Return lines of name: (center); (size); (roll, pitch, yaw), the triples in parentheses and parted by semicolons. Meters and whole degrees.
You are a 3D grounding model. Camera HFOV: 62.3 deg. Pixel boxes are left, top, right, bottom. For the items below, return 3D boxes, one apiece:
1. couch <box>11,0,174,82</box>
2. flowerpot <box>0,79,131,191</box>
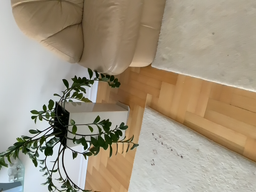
couch: (-0.310, -0.590, 1.620); (0.860, 0.870, 0.760); (26, 112, 48)
flowerpot: (-0.650, 0.280, 1.860); (0.680, 1.050, 0.680); (27, 112, 48)
